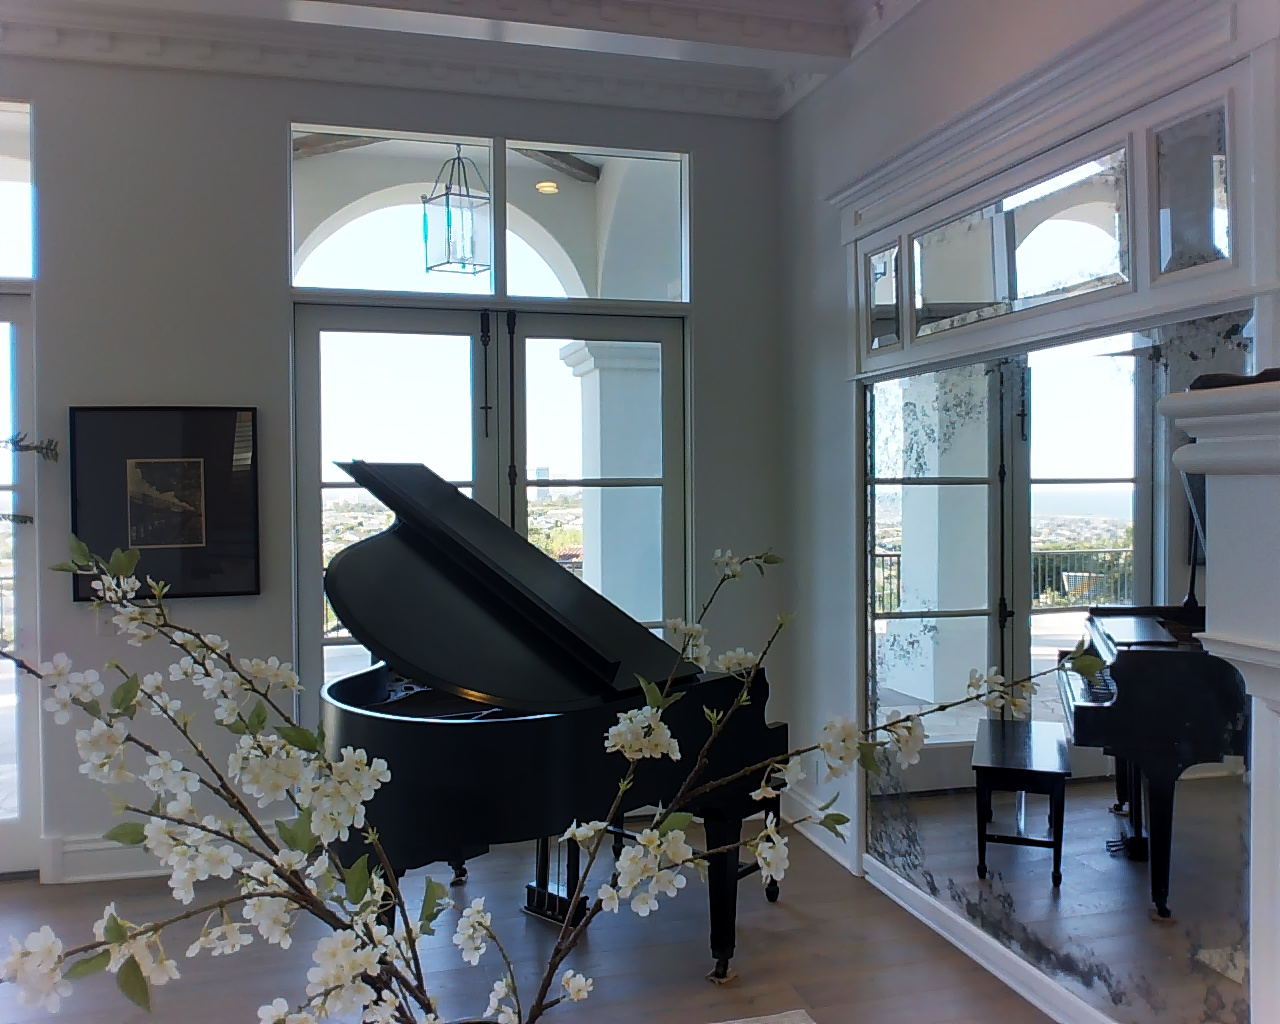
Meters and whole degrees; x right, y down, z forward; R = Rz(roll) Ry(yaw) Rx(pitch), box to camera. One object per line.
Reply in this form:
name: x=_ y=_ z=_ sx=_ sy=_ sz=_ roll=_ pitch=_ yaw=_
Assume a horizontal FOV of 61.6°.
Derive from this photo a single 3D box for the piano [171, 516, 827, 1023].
piano: x=-0.470 y=0.780 z=3.670 sx=1.600 sy=1.510 sz=1.540 roll=-1 pitch=0 yaw=42
